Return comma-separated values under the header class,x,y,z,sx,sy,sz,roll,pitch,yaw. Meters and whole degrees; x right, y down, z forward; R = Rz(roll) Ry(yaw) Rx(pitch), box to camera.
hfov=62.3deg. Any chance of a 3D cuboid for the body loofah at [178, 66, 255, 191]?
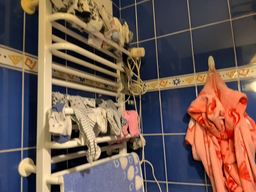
class,x,y,z,sx,sy,sz,roll,pitch,yaw
body loofah,0.460,0.340,0.940,0.370,0.890,0.180,-6,-9,20
